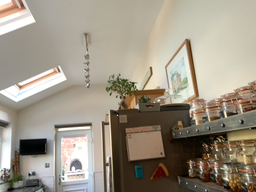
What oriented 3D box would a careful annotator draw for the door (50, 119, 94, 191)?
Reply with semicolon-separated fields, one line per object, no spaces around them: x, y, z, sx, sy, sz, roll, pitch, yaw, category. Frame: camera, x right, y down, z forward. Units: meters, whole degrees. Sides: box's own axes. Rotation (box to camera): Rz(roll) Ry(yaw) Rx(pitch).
-1.290;1.740;4.910;0.960;2.360;0.210;-2;-13;-8;door
